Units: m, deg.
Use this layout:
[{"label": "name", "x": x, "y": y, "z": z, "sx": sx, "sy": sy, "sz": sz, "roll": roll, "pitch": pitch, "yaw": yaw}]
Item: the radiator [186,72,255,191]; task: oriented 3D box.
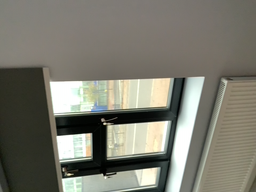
[{"label": "radiator", "x": 0.850, "y": 0.550, "z": 1.770, "sx": 0.100, "sy": 0.610, "sz": 1.540, "roll": -115, "pitch": 26, "yaw": -61}]

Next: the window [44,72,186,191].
[{"label": "window", "x": -0.100, "y": 0.450, "z": 1.960, "sx": 0.060, "sy": 1.120, "sz": 1.360, "roll": -117, "pitch": 27, "yaw": -63}]
